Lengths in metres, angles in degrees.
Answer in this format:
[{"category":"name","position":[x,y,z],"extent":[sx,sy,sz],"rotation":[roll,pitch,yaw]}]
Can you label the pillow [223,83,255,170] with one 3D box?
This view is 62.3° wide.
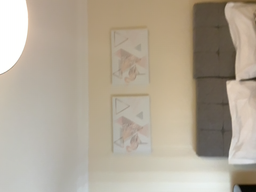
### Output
[{"category":"pillow","position":[1.200,0.270,1.990],"extent":[0.250,0.530,0.770],"rotation":[6,-97,-62]}]
